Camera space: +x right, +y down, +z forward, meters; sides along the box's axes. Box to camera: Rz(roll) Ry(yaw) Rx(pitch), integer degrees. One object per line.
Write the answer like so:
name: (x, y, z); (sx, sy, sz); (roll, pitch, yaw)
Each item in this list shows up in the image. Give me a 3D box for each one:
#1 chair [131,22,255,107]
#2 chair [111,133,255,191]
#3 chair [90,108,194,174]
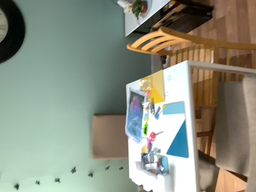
chair: (0.480, -0.160, 1.570); (0.510, 0.760, 0.470); (-4, 85, 64)
chair: (0.400, 0.640, 1.530); (0.480, 0.910, 0.570); (19, 106, 63)
chair: (0.130, 0.390, 2.100); (0.490, 0.890, 0.510); (-12, 78, 63)
